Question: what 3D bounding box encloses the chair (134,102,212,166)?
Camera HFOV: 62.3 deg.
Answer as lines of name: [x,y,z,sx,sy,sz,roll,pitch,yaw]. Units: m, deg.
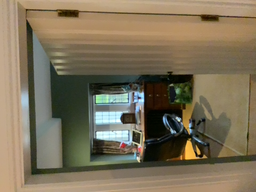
chair: [0.680,0.610,3.550,0.720,1.000,0.710,-103,13,-53]
